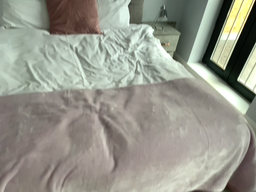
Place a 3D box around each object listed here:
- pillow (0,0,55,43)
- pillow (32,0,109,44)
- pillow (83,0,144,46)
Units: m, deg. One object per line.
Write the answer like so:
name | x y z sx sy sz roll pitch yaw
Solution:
pillow | -1.080 -0.850 2.070 0.560 0.400 0.150 -31 33 0
pillow | -0.560 -0.890 2.120 0.530 0.510 0.110 -34 32 1
pillow | -0.160 -0.900 2.360 0.480 0.450 0.240 -31 33 -2
